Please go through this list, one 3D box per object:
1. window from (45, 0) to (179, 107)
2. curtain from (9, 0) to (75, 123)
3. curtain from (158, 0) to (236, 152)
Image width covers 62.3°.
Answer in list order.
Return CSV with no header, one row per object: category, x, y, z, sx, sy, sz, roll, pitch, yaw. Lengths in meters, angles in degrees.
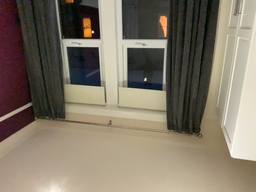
window,-0.210,-0.870,2.940,1.740,1.950,0.340,3,-161,12
curtain,-1.140,-0.720,2.840,0.580,2.200,0.280,3,-161,11
curtain,0.720,-0.510,2.340,0.670,2.300,0.320,4,-160,15
